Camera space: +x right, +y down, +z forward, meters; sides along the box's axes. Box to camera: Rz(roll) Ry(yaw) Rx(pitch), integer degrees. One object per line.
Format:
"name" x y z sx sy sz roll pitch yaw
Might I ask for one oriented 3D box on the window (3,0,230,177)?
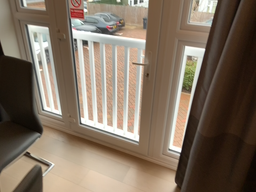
"window" -0.260 -0.400 1.820 1.890 2.090 0.120 14 31 20
